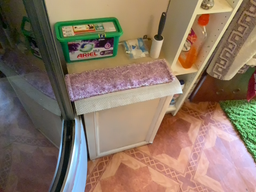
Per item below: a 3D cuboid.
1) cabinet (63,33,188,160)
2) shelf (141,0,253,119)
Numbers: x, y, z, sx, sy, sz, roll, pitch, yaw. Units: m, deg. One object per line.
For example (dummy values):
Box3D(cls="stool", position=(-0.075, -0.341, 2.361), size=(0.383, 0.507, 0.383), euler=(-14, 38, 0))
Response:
Box3D(cls="cabinet", position=(-0.050, 0.030, 1.140), size=(0.460, 0.570, 0.350), euler=(-11, 58, -14))
Box3D(cls="shelf", position=(0.340, -0.510, 0.670), size=(0.260, 2.010, 0.180), euler=(-11, 58, -14))
